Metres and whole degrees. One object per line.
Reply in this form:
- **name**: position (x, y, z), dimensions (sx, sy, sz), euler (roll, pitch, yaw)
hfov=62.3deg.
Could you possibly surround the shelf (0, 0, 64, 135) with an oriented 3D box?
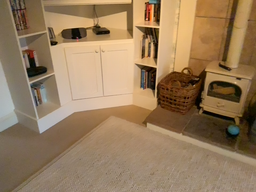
- **shelf**: position (-1.080, -0.570, 2.110), dimensions (0.390, 1.980, 0.410), euler (15, 32, 26)
